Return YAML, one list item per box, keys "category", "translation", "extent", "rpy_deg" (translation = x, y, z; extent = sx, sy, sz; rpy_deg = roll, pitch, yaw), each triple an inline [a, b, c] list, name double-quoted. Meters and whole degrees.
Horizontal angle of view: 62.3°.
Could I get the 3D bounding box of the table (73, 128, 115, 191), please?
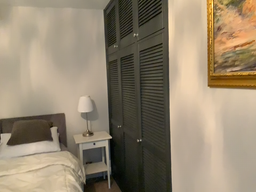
- category: "table"
  translation: [-0.480, 0.850, 2.920]
  extent: [0.480, 0.700, 0.390]
  rpy_deg: [-4, 5, -18]
